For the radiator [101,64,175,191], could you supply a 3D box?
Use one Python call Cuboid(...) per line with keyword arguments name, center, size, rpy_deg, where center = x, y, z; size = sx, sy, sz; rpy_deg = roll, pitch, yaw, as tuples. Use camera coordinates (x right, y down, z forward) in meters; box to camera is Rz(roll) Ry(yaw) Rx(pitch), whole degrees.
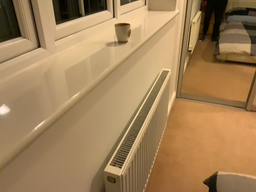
Cuboid(name="radiator", center=(0.120, 0.220, 1.180), size=(0.080, 0.490, 0.970), rpy_deg=(9, 31, 18))
